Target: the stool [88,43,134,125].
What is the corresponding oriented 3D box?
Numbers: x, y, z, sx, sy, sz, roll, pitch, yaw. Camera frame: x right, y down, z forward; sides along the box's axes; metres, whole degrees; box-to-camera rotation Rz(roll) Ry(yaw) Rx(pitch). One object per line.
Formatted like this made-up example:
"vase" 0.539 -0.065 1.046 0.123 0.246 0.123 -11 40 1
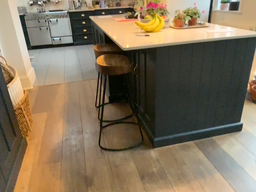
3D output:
"stool" -0.180 -0.140 2.260 0.390 0.730 0.430 -7 26 -11
